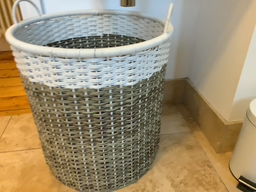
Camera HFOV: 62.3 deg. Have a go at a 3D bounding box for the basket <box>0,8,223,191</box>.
[{"bbox_3d":[-0.100,0.010,0.720,0.500,0.480,0.500,-5,32,-8],"label":"basket"}]
